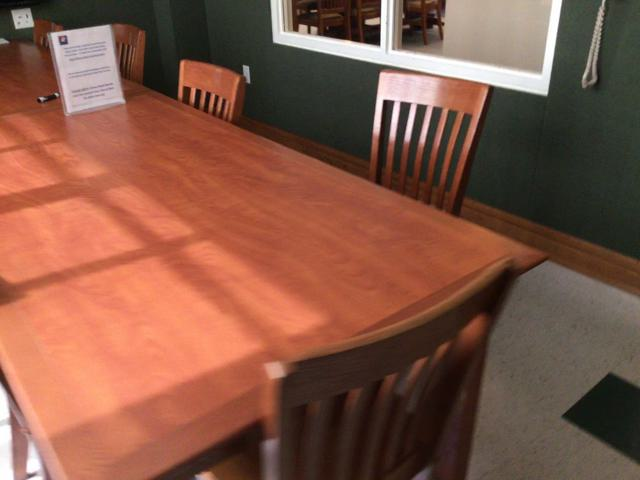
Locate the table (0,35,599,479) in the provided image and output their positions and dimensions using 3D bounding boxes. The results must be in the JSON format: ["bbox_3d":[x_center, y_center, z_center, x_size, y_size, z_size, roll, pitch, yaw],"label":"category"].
[{"bbox_3d":[-0.850,-0.090,2.130,1.070,0.800,3.140,-23,36,-35],"label":"table"}]
